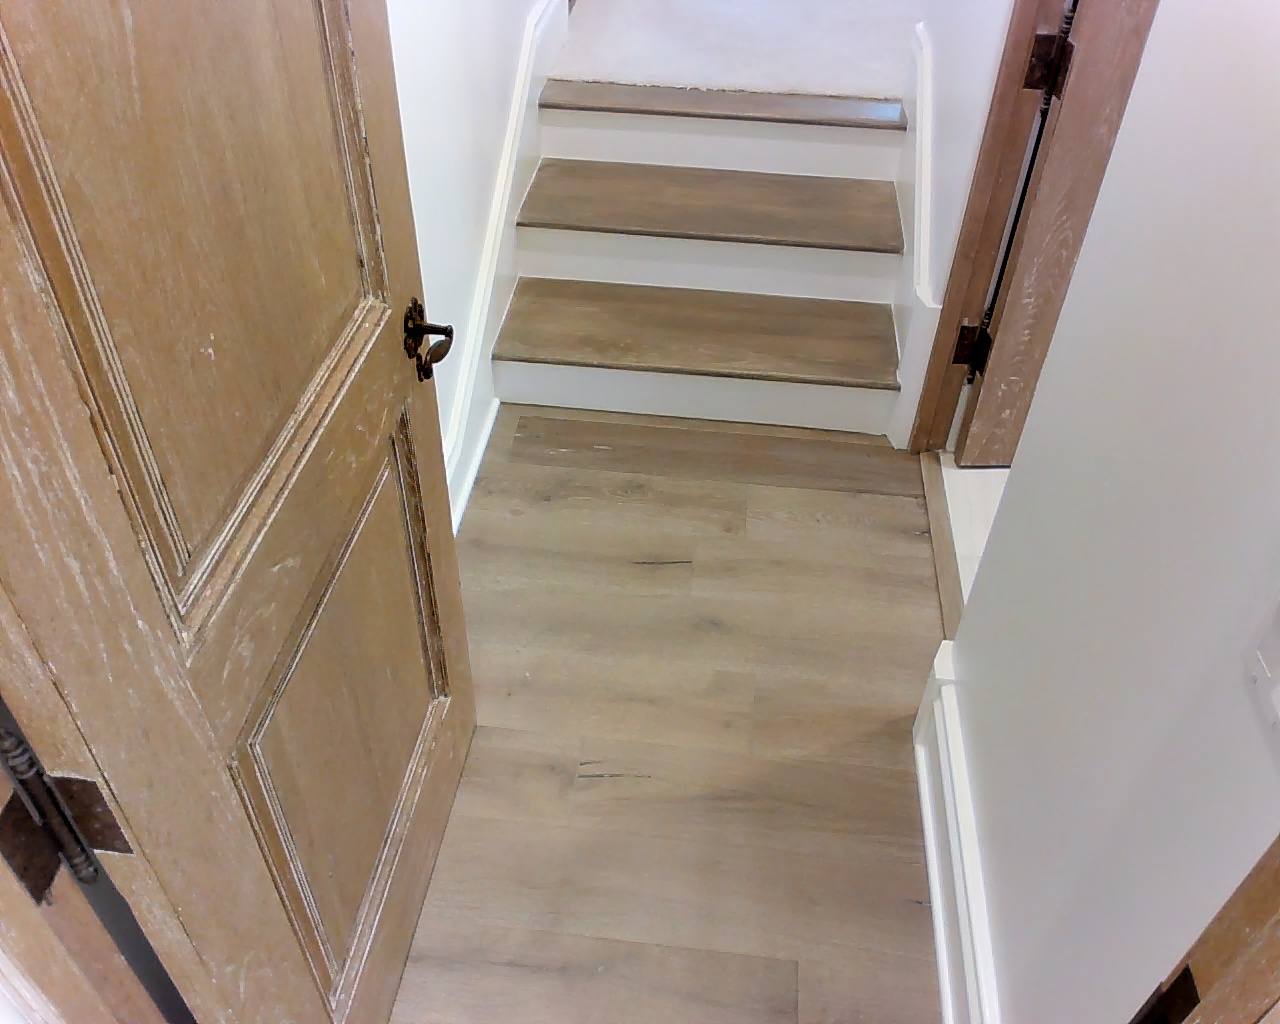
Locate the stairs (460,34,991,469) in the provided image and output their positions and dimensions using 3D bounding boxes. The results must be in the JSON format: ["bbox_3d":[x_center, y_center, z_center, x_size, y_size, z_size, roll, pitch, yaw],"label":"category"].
[{"bbox_3d":[0.220,-0.740,2.870,1.120,0.620,1.060,6,41,4],"label":"stairs"}]
